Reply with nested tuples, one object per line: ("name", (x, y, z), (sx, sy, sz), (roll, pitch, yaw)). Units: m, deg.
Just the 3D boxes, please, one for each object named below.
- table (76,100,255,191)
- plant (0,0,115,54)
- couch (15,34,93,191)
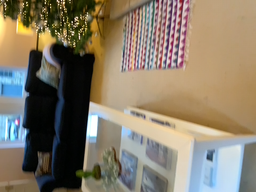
("table", (0.100, 0.520, 1.490), (1.230, 0.500, 0.850), (9, 94, 59))
("plant", (-1.140, -1.130, 2.540), (0.980, 1.690, 0.930), (15, 99, 59))
("couch", (-1.220, 0.310, 3.370), (0.970, 0.830, 2.240), (7, 92, 59))
